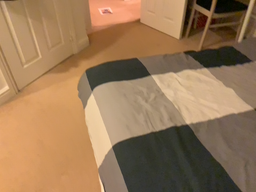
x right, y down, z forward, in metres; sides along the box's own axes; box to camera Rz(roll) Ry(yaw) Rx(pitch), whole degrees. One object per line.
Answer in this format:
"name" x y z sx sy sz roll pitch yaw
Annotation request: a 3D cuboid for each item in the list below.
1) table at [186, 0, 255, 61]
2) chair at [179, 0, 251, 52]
"table" 1.230 -1.000 2.450 0.570 0.720 0.960 -12 41 -13
"chair" 0.970 -1.090 2.310 0.510 1.060 0.450 -10 40 -11
